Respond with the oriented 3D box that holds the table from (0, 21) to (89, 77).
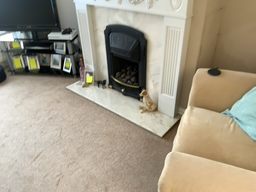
[{"bbox_3d":[-1.190,-0.690,3.000,1.080,0.540,0.680,3,34,5],"label":"table"}]
